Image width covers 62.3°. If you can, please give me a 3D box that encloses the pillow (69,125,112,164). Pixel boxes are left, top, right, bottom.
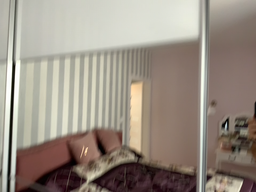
[{"bbox_3d":[-0.490,0.640,2.870,0.240,0.390,0.480,-21,-12,27],"label":"pillow"}]
